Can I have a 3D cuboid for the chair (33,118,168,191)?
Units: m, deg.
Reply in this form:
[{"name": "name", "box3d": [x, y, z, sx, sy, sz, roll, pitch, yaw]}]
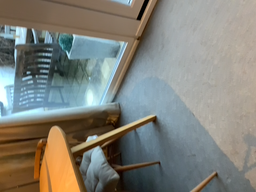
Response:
[{"name": "chair", "box3d": [-0.220, 0.530, 1.580, 0.500, 0.780, 0.440, 57, 135, 37]}]
